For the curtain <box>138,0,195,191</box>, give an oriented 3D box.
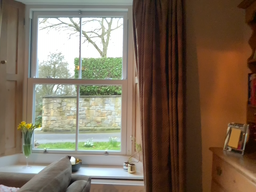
[{"bbox_3d":[0.310,0.130,1.870,0.390,2.200,0.420,2,-1,4],"label":"curtain"}]
